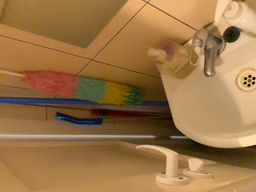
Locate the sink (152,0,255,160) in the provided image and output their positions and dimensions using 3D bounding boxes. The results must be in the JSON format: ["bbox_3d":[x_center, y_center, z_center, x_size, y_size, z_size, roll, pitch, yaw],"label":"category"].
[{"bbox_3d":[0.290,-0.040,0.570,0.410,0.140,0.330,-32,60,42],"label":"sink"}]
